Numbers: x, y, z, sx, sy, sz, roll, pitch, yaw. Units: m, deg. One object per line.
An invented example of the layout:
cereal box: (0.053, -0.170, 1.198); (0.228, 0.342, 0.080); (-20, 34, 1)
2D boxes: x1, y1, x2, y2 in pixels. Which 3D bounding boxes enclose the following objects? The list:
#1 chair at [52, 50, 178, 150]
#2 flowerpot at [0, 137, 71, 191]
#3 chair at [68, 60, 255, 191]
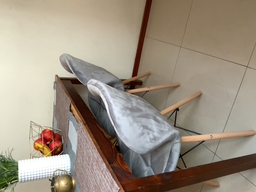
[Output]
chair: (-0.120, 0.000, 1.520); (0.440, 0.720, 0.520); (36, 121, 57)
flowerpot: (-0.530, 0.390, 1.090); (0.210, 0.400, 0.240); (48, 131, 51)
chair: (0.150, 0.190, 1.030); (0.460, 0.720, 0.510); (58, 139, 45)
